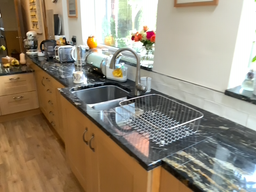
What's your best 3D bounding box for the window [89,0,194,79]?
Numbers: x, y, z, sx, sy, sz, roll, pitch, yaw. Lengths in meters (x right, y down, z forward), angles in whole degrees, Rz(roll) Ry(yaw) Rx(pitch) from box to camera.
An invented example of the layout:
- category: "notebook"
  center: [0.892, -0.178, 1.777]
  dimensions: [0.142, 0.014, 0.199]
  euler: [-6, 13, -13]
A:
- category: "window"
  center: [0.010, -1.050, 2.390]
  dimensions: [0.220, 1.330, 1.670]
  euler: [-12, 24, -32]
